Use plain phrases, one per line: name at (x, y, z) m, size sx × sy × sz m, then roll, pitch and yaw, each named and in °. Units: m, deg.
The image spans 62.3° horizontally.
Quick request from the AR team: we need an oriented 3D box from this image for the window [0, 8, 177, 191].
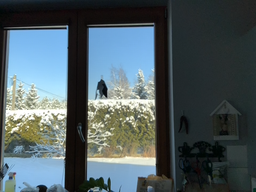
window at (-0.410, 0.140, 1.690) m, size 1.510 × 1.570 × 0.280 m, roll 0°, pitch -5°, yaw 3°
